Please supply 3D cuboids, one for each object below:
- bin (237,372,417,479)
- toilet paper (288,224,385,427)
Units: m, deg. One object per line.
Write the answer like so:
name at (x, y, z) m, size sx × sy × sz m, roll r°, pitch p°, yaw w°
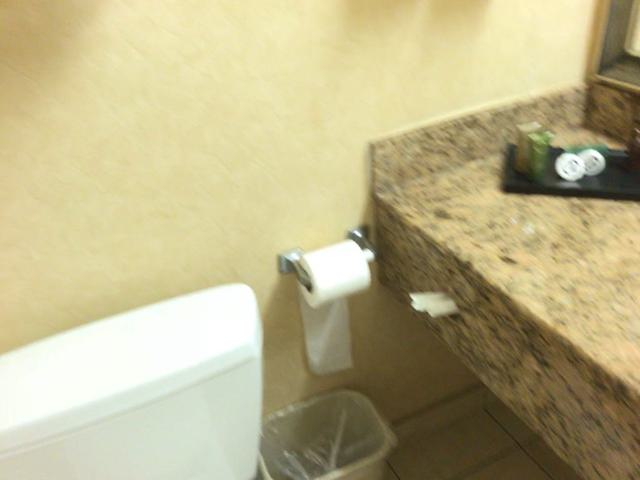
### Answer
bin at (0.020, 0.540, 1.320) m, size 0.320 × 0.310 × 0.220 m, roll -18°, pitch 34°, yaw -21°
toilet paper at (0.040, 0.180, 1.180) m, size 0.140 × 0.390 × 0.120 m, roll -18°, pitch 34°, yaw -21°
